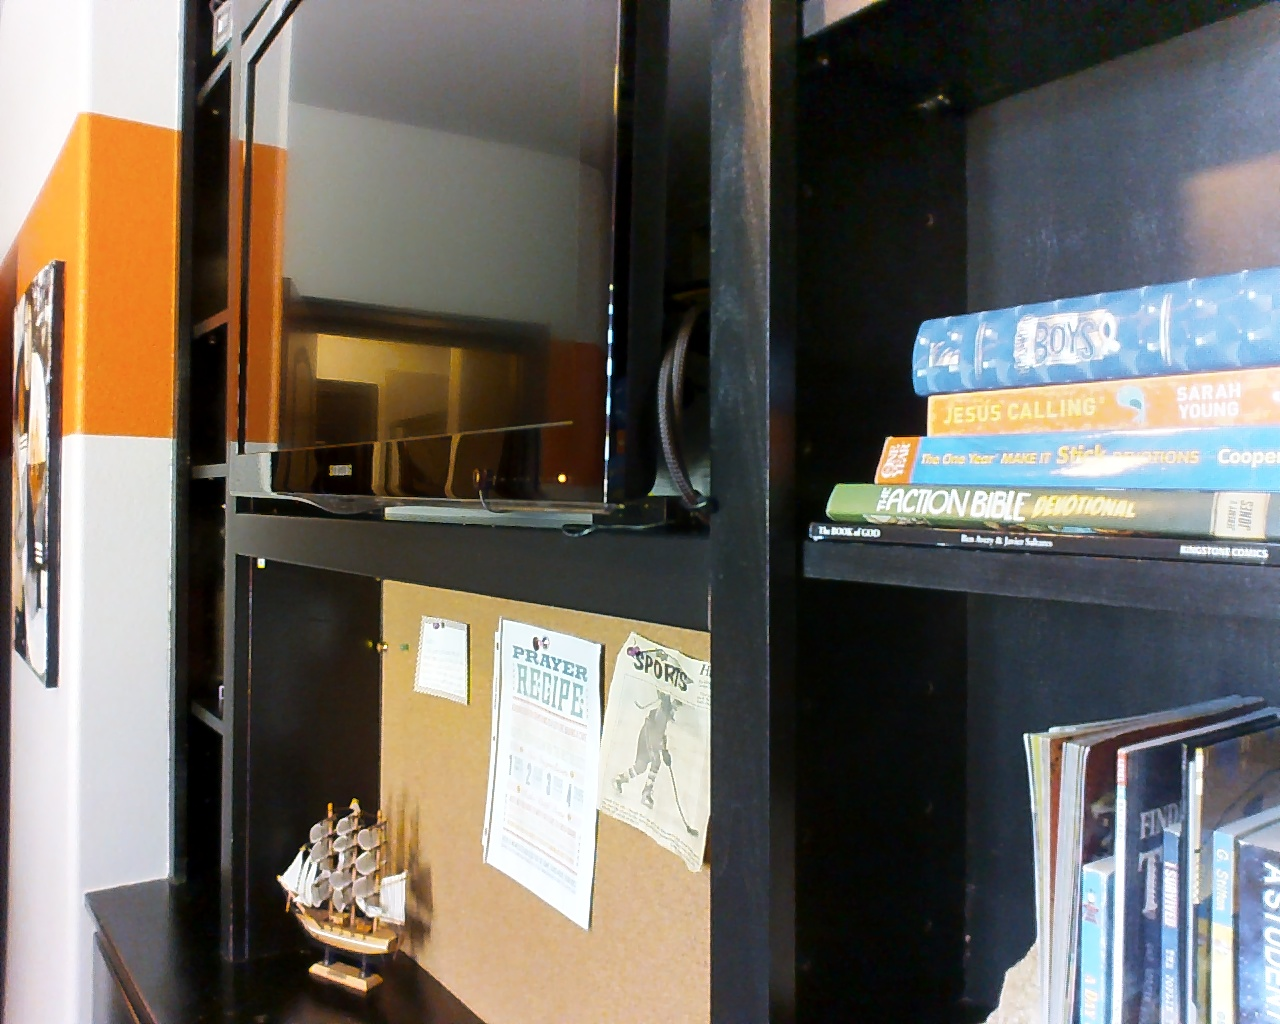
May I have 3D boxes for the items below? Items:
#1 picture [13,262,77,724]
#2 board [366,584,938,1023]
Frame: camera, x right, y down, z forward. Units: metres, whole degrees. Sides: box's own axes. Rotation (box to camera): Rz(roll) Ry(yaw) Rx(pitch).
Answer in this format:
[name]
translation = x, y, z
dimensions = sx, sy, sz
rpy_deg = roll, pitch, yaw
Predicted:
[picture]
translation = -1.110, -0.030, 1.980
dimensions = 0.030, 0.750, 0.590
rpy_deg = 1, -1, -36
[board]
translation = -0.090, 0.360, 1.120
dimensions = 0.030, 0.520, 0.970
rpy_deg = 1, -1, -36
